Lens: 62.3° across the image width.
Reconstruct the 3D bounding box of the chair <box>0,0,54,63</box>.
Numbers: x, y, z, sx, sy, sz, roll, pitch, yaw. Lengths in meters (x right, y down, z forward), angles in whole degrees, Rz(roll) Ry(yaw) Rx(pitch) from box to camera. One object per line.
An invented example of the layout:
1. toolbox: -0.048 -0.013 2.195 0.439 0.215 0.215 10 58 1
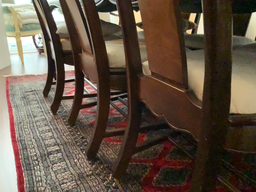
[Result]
1. chair: -1.490 -1.020 2.840 0.600 0.990 0.640 7 21 14
